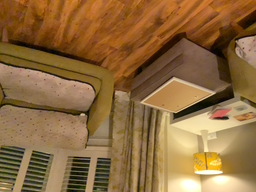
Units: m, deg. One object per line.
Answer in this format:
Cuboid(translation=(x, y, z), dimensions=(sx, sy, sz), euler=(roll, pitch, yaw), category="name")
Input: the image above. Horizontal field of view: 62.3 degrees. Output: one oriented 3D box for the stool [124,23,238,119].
Cuboid(translation=(0.460, -0.160, 2.110), dimensions=(0.620, 0.410, 0.880), euler=(19, 149, -24), category="stool")
